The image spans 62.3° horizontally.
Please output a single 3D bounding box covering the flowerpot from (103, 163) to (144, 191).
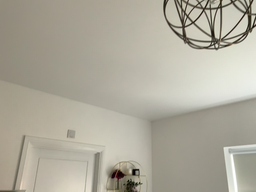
[{"bbox_3d":[-0.050,1.100,2.540,0.450,0.530,0.220,17,-25,-34],"label":"flowerpot"}]
